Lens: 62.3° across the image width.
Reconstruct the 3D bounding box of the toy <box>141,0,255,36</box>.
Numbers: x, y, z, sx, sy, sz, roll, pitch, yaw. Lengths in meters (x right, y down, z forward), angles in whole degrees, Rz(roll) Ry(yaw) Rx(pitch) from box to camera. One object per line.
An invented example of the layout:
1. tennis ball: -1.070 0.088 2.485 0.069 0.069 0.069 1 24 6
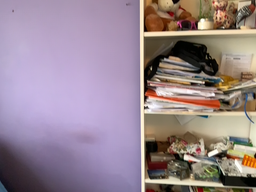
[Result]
1. toy: 0.340 -0.430 0.990 0.530 0.250 0.290 1 11 9
